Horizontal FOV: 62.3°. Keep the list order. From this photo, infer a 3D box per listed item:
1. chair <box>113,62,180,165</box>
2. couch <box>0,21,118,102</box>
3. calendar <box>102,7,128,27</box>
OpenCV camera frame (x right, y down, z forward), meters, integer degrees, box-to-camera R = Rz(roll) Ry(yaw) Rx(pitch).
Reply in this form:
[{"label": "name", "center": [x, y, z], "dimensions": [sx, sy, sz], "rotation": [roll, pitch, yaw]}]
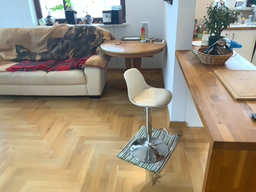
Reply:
[{"label": "chair", "center": [0.170, 0.150, 2.040], "dimensions": [0.470, 0.800, 0.350], "rotation": [23, 36, 39]}, {"label": "couch", "center": [-1.320, -0.610, 3.440], "dimensions": [2.140, 0.980, 1.130], "rotation": [1, 27, 5]}, {"label": "calendar", "center": [-0.230, -1.450, 3.880], "dimensions": [0.410, 0.310, 0.280], "rotation": [3, 27, 9]}]
